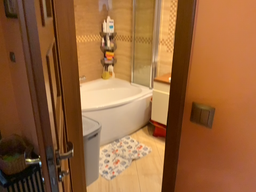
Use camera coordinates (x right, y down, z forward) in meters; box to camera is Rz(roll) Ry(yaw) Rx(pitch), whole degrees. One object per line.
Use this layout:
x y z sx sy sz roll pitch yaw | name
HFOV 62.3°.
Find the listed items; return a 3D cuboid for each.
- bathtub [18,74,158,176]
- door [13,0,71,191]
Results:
-0.460 0.220 2.940 1.060 0.580 1.510 18 27 35 | bathtub
-0.360 0.120 1.050 0.060 2.130 0.890 -5 23 -16 | door
